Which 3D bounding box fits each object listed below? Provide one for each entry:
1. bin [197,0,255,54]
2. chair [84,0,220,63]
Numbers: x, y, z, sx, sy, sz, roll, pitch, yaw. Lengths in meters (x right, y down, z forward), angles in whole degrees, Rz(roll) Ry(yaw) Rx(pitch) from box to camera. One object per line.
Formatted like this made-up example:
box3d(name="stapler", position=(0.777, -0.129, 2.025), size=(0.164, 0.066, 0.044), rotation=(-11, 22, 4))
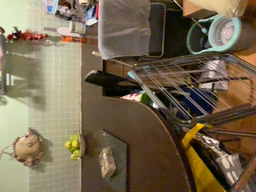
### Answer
box3d(name="bin", position=(0.670, -0.440, 1.430), size=(0.320, 0.210, 0.260), rotation=(-169, 80, -64))
box3d(name="chair", position=(0.170, -0.510, 1.660), size=(0.490, 0.910, 0.440), rotation=(-162, 73, -63))
